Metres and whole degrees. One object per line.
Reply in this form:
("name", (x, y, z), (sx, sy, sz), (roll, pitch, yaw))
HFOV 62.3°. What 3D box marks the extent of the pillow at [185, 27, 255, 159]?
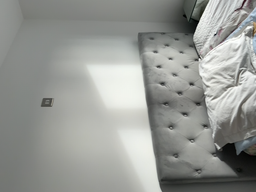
("pillow", (0.650, -0.030, 1.470), (0.530, 0.200, 0.740), (97, 171, -50))
